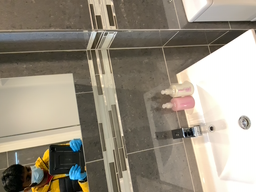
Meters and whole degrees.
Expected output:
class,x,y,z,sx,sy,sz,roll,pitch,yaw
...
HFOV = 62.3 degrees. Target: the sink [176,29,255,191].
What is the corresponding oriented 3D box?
class,x,y,z,sx,sy,sz,roll,pitch,yaw
sink,0.440,0.130,0.870,0.460,0.130,0.630,148,113,-68
